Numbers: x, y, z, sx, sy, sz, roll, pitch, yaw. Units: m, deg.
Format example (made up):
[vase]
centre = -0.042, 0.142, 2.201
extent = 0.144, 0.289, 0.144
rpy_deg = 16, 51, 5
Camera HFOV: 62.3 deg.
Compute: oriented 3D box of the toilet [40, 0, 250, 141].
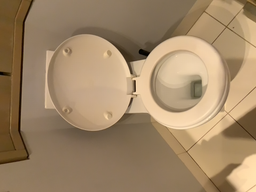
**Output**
[toilet]
centre = 0.150, -0.070, 0.900
extent = 0.500, 0.810, 0.390
rpy_deg = -2, 84, 39
